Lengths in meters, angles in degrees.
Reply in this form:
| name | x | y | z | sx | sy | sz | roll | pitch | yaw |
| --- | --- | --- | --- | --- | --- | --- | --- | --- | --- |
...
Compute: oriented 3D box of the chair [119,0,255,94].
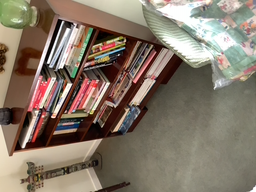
| name | x | y | z | sx | sy | sz | roll | pitch | yaw |
| --- | --- | --- | --- | --- | --- | --- | --- | --- | --- |
| chair | 0.480 | -0.470 | 1.070 | 0.610 | 0.620 | 0.660 | -50 | 55 | 34 |
